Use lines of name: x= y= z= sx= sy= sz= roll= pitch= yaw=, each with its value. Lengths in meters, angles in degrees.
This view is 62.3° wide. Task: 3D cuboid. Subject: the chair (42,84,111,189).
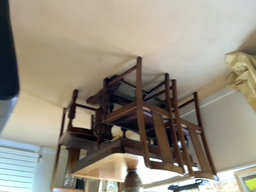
chair: x=-0.490 y=0.420 z=2.140 sx=0.450 sy=0.870 sz=0.480 roll=18 pitch=143 yaw=-29

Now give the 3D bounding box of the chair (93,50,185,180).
chair: x=0.070 y=0.180 z=1.760 sx=0.490 sy=0.870 sz=0.460 roll=-28 pitch=140 yaw=36
